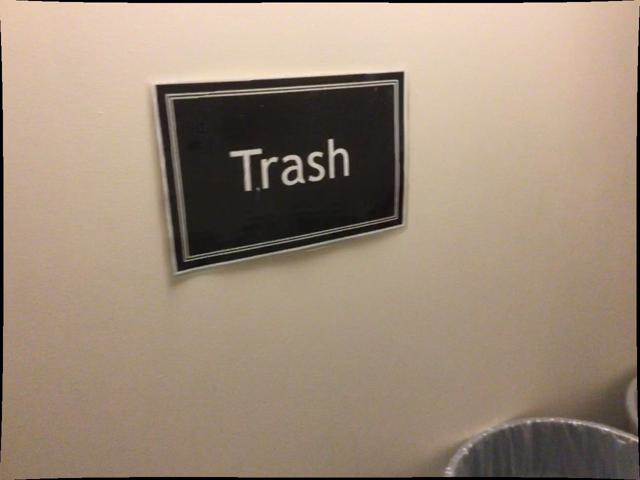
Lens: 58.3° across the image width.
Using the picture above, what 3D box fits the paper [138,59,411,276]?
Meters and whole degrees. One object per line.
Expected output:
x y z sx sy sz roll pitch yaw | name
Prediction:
-0.040 -0.130 0.920 0.450 0.280 0.030 -14 21 -29 | paper
